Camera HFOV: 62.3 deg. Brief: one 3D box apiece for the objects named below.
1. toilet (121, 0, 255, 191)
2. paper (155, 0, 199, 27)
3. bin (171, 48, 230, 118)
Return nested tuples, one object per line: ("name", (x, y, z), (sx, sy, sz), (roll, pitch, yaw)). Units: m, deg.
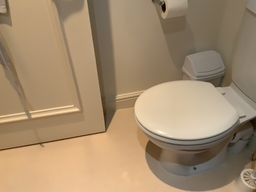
("toilet", (0.350, 0.030, 0.950), (0.670, 0.780, 0.400), (-10, 42, -10))
("paper", (0.240, -0.440, 1.060), (0.170, 0.130, 0.120), (-11, 42, -12))
("bin", (0.450, -0.080, 1.390), (0.220, 0.370, 0.210), (-12, 43, -13))
